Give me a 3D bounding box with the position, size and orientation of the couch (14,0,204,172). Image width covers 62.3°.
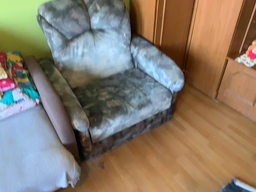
[{"bbox_3d":[-0.190,-0.250,1.900,1.070,1.040,0.990,-21,42,-26],"label":"couch"}]
